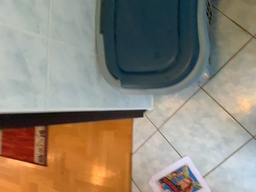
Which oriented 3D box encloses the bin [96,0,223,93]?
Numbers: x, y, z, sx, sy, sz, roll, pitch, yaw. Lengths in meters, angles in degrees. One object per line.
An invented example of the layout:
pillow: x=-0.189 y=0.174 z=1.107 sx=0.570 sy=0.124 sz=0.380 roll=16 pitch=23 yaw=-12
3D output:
bin: x=0.190 y=-0.330 z=0.920 sx=0.360 sy=0.580 sz=0.600 roll=0 pitch=88 yaw=29
